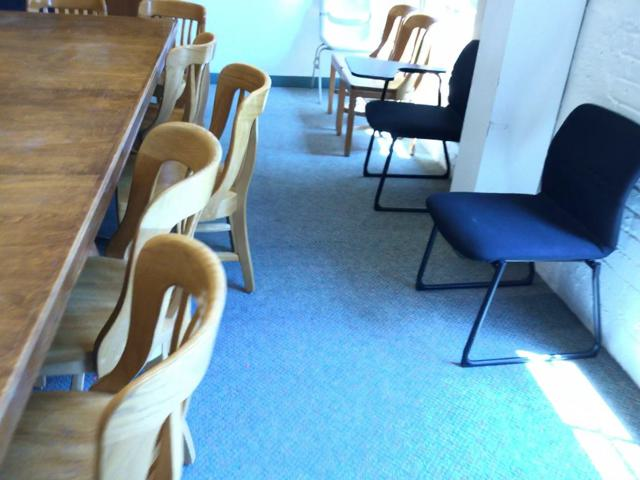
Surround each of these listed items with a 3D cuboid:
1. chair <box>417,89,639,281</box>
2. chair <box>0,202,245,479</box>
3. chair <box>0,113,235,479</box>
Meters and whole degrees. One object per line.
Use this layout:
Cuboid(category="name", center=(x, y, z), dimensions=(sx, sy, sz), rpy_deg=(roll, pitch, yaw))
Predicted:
Cuboid(category="chair", center=(0.710, -0.200, 1.950), dimensions=(0.600, 0.470, 0.510), rpy_deg=(0, 29, -6))
Cuboid(category="chair", center=(-0.400, 0.410, 1.080), dimensions=(0.490, 0.800, 0.550), rpy_deg=(0, 29, -6))
Cuboid(category="chair", center=(-0.490, 0.170, 1.500), dimensions=(0.490, 0.830, 0.590), rpy_deg=(0, 29, -6))
